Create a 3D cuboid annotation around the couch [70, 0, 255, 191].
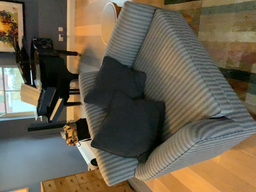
[{"bbox_3d":[0.160,-0.040,1.620,0.930,0.820,1.220,-57,45,46],"label":"couch"}]
